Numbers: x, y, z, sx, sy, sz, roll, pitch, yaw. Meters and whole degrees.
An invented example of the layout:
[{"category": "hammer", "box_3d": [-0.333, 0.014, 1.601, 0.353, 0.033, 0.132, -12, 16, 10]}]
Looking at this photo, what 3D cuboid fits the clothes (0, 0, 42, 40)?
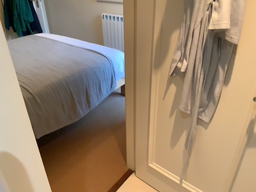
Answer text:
[{"category": "clothes", "box_3d": [-1.980, -1.640, 3.680, 0.640, 1.240, 0.280, 7, 32, 11]}]
